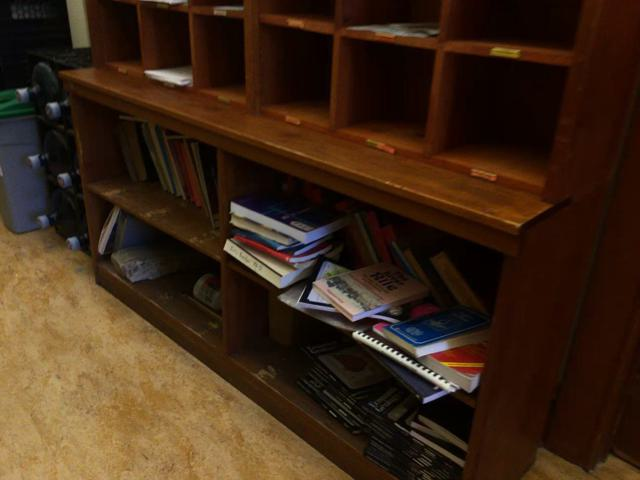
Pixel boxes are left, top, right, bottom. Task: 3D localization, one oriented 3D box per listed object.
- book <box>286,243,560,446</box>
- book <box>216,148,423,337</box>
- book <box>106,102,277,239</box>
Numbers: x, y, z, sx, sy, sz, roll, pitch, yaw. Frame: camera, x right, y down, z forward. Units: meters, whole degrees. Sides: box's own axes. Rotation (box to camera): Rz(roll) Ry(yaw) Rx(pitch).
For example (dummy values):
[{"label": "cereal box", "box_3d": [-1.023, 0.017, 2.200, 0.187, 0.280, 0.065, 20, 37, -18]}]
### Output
[{"label": "book", "box_3d": [0.230, 0.210, 1.390, 0.550, 0.140, 0.320, 25, 31, 35]}, {"label": "book", "box_3d": [-0.020, -0.020, 1.590, 0.470, 0.310, 0.290, 25, 31, 35]}, {"label": "book", "box_3d": [-0.490, -0.280, 2.110, 0.720, 0.280, 0.200, 25, 31, 35]}]
